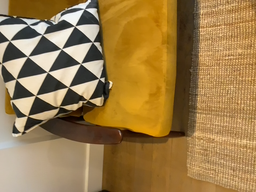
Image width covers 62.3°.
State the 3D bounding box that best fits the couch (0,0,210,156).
[{"bbox_3d":[-0.130,-0.680,1.160,0.890,0.760,1.660,4,93,41],"label":"couch"}]

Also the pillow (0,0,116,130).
[{"bbox_3d":[-0.380,-0.150,1.110,0.340,0.590,0.610,119,153,-75],"label":"pillow"}]
